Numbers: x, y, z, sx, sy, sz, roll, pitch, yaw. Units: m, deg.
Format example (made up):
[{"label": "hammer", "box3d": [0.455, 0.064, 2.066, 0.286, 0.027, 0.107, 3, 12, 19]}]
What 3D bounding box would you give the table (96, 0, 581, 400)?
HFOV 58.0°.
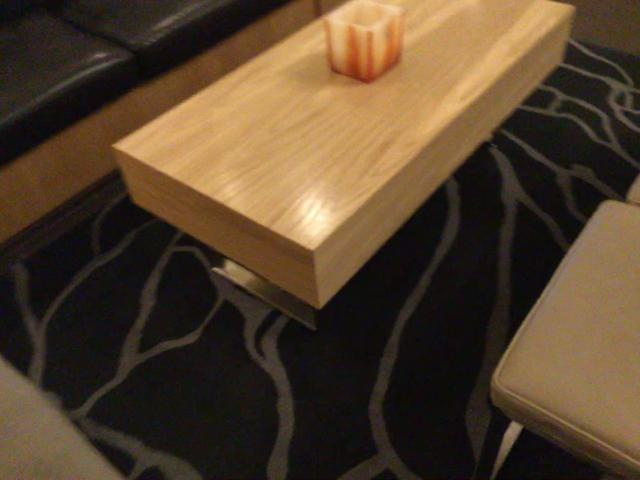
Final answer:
[{"label": "table", "box3d": [0.150, -0.290, 1.670, 0.660, 0.510, 1.240, 23, 51, 32]}]
